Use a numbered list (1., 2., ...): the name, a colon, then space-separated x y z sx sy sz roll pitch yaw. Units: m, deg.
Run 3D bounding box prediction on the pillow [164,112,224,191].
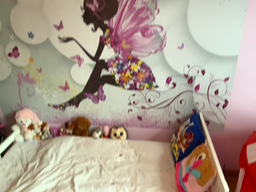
1. pillow: 0.420 0.400 1.520 0.280 0.260 0.680 2 26 7
